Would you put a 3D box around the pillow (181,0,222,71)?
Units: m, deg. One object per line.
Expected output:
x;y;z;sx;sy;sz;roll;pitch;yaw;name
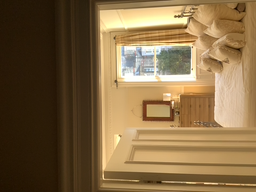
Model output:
1.280;-1.050;3.770;0.590;0.550;1.160;-27;-63;-84;pillow

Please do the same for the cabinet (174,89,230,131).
1.700;0.310;5.000;0.490;1.150;0.920;-22;-68;-84;cabinet

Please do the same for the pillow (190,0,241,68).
1.210;-1.010;3.040;0.620;0.520;1.120;-6;-84;-84;pillow
